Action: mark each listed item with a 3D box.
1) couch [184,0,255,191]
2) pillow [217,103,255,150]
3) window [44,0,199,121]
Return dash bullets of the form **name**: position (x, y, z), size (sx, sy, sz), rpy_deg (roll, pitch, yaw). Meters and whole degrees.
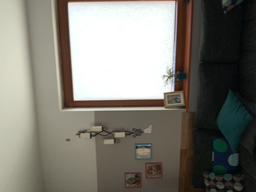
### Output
- **couch**: position (1.210, -0.390, 2.200), size (0.950, 0.830, 3.840), rpy_deg (-93, 3, -79)
- **pillow**: position (1.130, 0.300, 2.190), size (0.360, 0.260, 0.400), rpy_deg (-95, 4, -82)
- **window**: position (-0.070, -0.500, 2.820), size (0.270, 1.850, 1.650), rpy_deg (-93, 2, -77)
